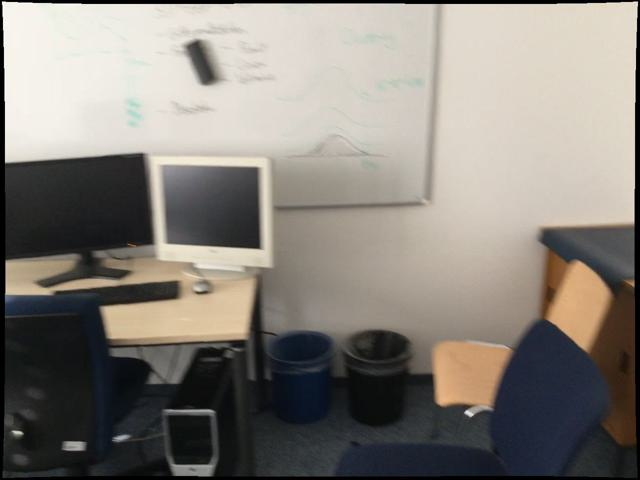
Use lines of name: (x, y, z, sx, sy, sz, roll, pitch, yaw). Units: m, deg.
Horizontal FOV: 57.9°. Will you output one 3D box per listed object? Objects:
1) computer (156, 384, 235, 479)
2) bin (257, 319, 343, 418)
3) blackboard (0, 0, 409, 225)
computer: (-0.400, 0.701, 1.900, 0.200, 0.440, 0.110, -2, 18, 0)
bin: (-0.080, 0.551, 2.520, 0.340, 0.300, 0.300, -2, 18, 0)
blackboard: (-0.579, -0.541, 2.350, 1.858, 0.921, 0.080, -2, 18, 0)
